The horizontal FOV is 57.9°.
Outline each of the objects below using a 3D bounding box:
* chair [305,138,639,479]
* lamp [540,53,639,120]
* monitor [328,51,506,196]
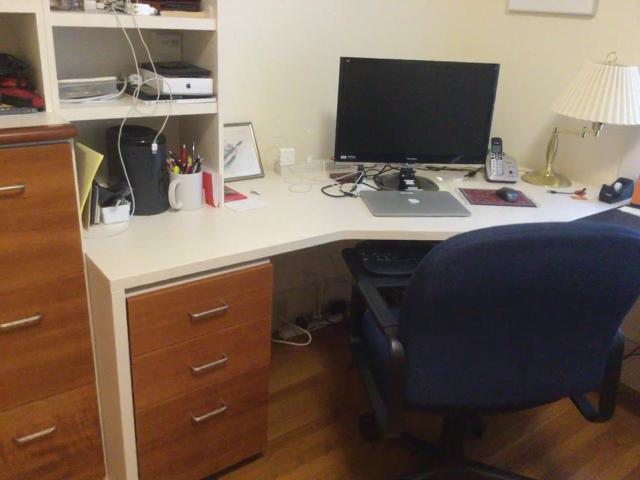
[{"bbox_3d":[0.360,0.300,1.510,0.660,0.960,0.650,4,20,-8],"label":"chair"},{"bbox_3d":[0.950,-0.510,1.920,0.290,0.170,0.270,-9,25,-37],"label":"lamp"},{"bbox_3d":[0.320,-0.400,2.010,0.520,0.430,0.170,3,20,-10],"label":"monitor"}]
